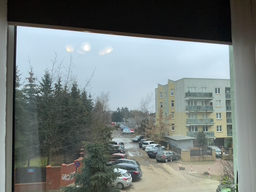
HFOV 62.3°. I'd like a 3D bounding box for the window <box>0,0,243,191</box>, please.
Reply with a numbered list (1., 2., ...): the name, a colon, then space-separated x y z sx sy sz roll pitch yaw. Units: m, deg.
1. window: -0.020 0.110 1.060 1.140 1.520 0.230 1 -5 -12
